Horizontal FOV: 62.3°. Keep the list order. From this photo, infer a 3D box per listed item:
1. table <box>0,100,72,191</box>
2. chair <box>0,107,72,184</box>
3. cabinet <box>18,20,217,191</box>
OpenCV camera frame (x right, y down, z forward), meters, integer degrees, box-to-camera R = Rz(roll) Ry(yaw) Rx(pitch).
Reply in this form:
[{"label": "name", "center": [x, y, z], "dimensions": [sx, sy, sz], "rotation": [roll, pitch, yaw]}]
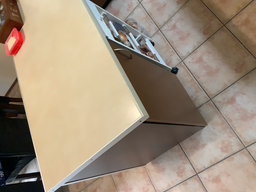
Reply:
[{"label": "table", "center": [-1.220, 0.970, 2.150], "dimensions": [0.920, 0.760, 1.600], "rotation": [-40, 62, 26]}, {"label": "chair", "center": [-1.210, 0.480, 2.010], "dimensions": [0.630, 1.070, 0.430], "rotation": [-49, 58, 22]}, {"label": "cabinet", "center": [-0.010, 0.110, 1.210], "dimensions": [0.620, 0.850, 0.450], "rotation": [-42, 61, 25]}]
